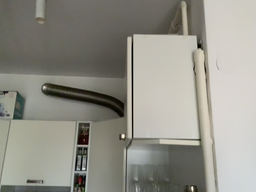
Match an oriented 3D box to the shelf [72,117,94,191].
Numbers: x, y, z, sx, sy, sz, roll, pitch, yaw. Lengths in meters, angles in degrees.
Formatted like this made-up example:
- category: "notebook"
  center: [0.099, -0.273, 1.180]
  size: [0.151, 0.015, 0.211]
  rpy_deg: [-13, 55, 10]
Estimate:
- category: "shelf"
  center: [-0.430, 0.700, 2.020]
  size: [0.120, 0.950, 0.280]
  rpy_deg: [2, -17, -3]
